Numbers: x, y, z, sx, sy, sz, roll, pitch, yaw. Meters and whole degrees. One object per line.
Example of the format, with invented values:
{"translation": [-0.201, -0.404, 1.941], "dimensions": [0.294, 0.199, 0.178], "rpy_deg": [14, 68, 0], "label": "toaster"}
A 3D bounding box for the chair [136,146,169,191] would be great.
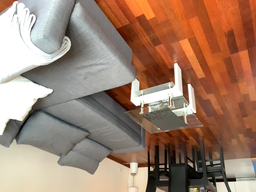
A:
{"translation": [0.490, 1.560, 4.250], "dimensions": [0.520, 0.970, 0.370], "rpy_deg": [-14, 144, 28], "label": "chair"}

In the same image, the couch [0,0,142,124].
{"translation": [-0.370, -0.310, 1.560], "dimensions": [0.610, 0.670, 0.840], "rpy_deg": [-14, 144, 27], "label": "couch"}

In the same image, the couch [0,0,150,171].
{"translation": [-0.710, 0.220, 2.440], "dimensions": [0.990, 0.690, 2.390], "rpy_deg": [-14, 144, 27], "label": "couch"}

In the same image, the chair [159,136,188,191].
{"translation": [0.790, 1.300, 3.710], "dimensions": [0.350, 1.050, 0.490], "rpy_deg": [-12, 145, 24], "label": "chair"}
